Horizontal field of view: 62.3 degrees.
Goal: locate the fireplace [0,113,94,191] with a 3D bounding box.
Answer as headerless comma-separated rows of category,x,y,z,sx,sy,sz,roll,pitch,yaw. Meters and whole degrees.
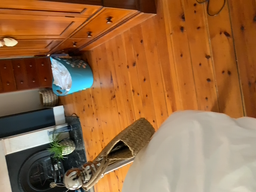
fireplace,-1.250,1.140,3.040,0.880,1.140,1.590,-7,93,55
